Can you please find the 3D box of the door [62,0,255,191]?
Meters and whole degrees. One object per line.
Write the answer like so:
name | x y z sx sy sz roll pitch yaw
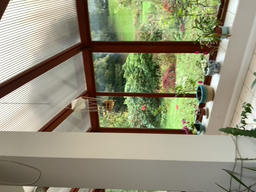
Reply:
door | 0.360 0.680 3.680 0.170 2.290 5.770 -87 -2 -58
